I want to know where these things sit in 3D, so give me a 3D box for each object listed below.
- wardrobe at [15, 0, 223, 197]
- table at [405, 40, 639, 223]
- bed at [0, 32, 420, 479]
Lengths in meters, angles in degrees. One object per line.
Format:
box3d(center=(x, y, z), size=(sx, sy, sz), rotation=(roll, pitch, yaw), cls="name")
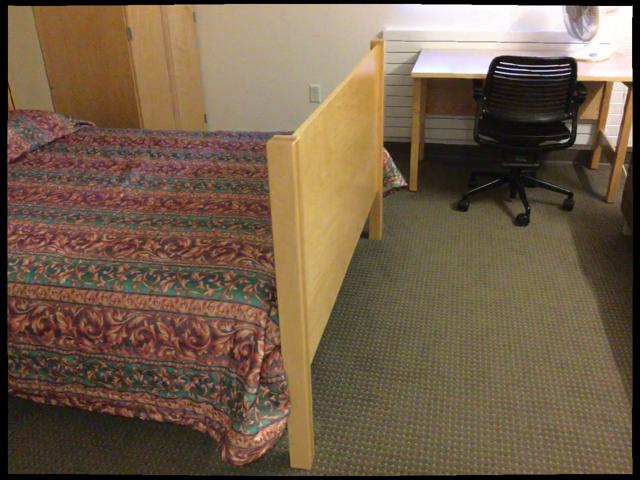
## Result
box3d(center=(-1.298, -1.373, 3.860), size=(0.699, 1.853, 1.050), rotation=(5, 28, 15), cls="wardrobe")
box3d(center=(1.188, -0.711, 3.500), size=(1.188, 0.831, 0.880), rotation=(5, 28, 15), cls="table")
box3d(center=(-0.898, -0.200, 2.460), size=(2.356, 1.042, 1.870), rotation=(5, 28, 15), cls="bed")
